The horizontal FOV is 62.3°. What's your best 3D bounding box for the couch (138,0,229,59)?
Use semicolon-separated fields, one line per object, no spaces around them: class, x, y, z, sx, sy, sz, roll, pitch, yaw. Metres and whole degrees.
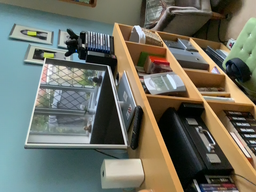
couch;0.530;-0.920;2.310;0.740;0.610;0.700;140;133;-66
